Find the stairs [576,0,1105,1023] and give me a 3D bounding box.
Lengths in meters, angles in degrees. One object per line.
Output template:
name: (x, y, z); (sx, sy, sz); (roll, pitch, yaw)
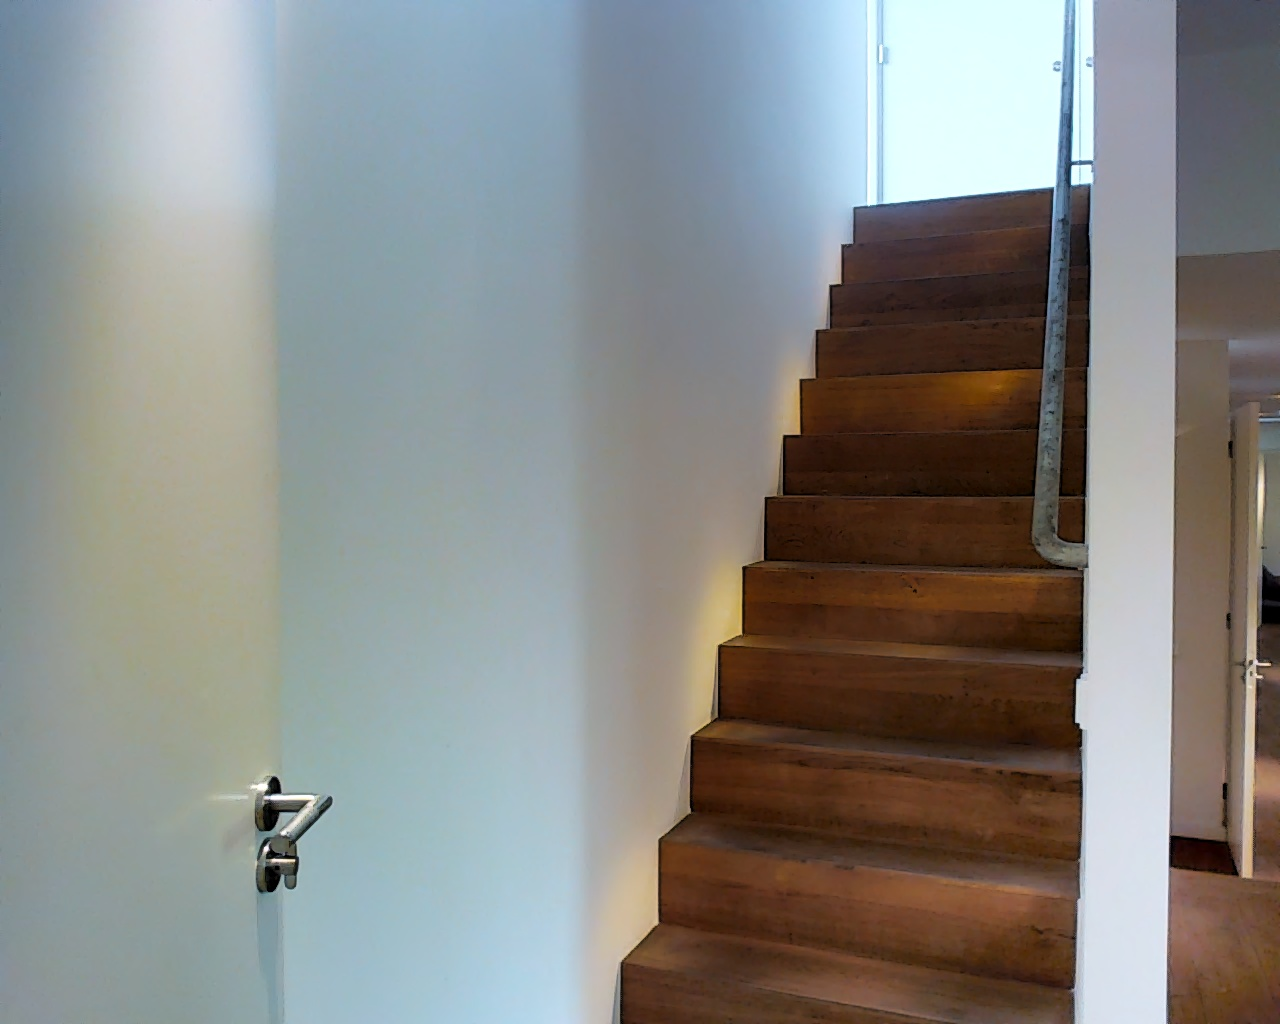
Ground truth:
stairs: (0.710, 0.010, 2.830); (0.910, 2.560, 2.060); (1, 2, 24)
